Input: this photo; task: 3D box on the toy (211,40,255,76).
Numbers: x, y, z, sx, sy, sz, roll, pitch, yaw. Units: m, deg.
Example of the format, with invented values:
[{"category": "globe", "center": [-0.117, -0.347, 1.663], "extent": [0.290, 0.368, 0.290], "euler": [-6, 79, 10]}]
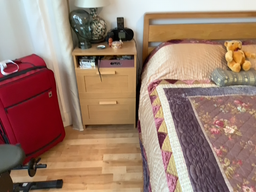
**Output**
[{"category": "toy", "center": [0.830, -0.310, 1.700], "extent": [0.190, 0.200, 0.260], "euler": [-2, 30, -2]}]
